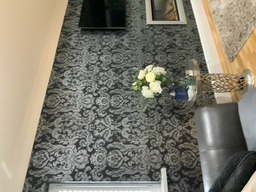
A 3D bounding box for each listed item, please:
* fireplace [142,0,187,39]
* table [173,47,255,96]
[{"bbox_3d":[0.590,-1.470,3.670,0.380,0.620,0.920,92,178,-59],"label":"fireplace"},{"bbox_3d":[0.920,-0.260,2.370,0.400,0.710,0.370,92,178,-60],"label":"table"}]
